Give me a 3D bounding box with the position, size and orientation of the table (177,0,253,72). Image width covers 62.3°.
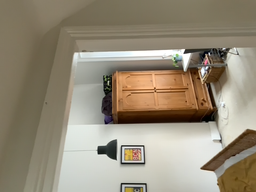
[{"bbox_3d":[1.320,-0.950,3.480,1.010,0.740,0.610,92,177,-58],"label":"table"}]
